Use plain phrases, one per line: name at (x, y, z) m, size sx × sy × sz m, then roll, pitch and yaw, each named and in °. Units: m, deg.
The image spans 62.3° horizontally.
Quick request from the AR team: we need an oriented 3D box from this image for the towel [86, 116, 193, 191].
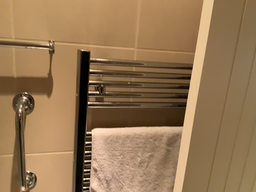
towel at (0.030, 0.370, 0.870) m, size 0.390 × 0.560 × 0.090 m, roll 0°, pitch 16°, yaw -19°
